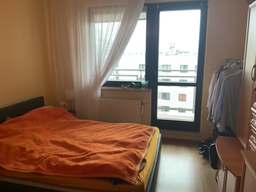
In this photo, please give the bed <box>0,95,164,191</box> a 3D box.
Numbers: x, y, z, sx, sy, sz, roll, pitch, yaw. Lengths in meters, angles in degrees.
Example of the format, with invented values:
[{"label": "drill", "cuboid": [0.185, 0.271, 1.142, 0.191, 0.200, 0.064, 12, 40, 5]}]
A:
[{"label": "bed", "cuboid": [-0.720, 0.580, 2.770, 2.140, 0.770, 1.750, 3, 12, 16]}]
